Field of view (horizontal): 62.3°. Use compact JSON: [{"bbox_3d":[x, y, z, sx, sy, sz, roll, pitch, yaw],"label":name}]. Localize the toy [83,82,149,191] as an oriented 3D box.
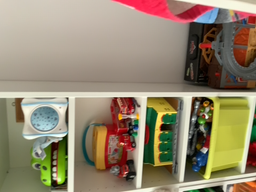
[{"bbox_3d":[-0.070,0.150,0.890,0.270,0.200,0.390,-157,69,-70],"label":"toy"}]
